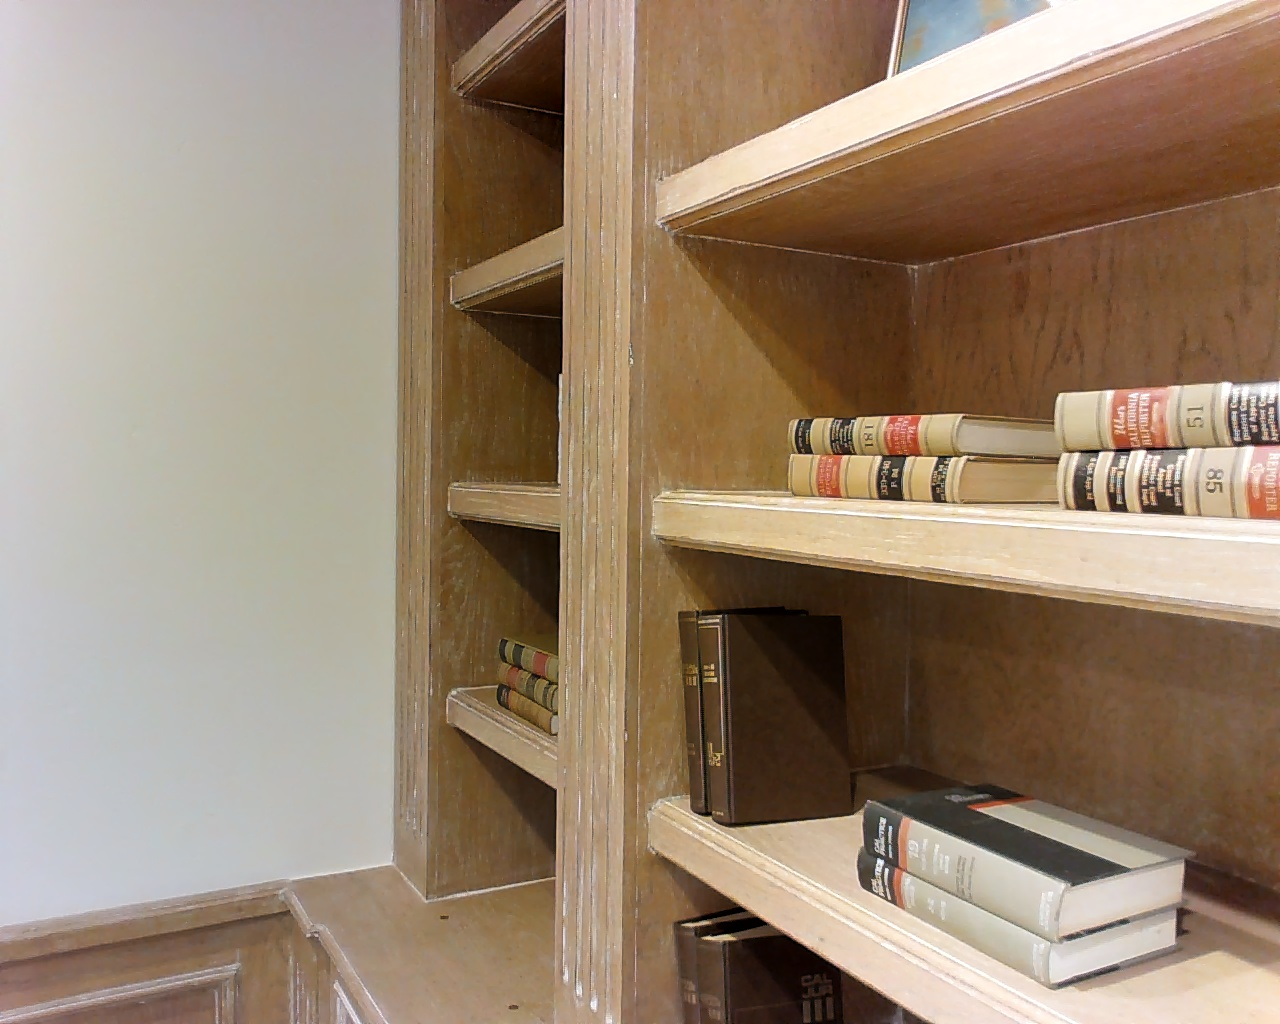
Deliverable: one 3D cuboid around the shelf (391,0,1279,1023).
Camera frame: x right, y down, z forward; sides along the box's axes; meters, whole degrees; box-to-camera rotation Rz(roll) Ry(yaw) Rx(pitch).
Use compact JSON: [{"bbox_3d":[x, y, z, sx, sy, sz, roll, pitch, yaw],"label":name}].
[{"bbox_3d":[0.440,-0.210,1.070,0.560,2.061,2.970,0,2,-29],"label":"shelf"}]
